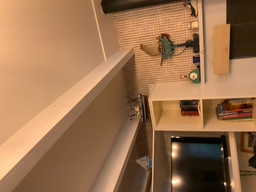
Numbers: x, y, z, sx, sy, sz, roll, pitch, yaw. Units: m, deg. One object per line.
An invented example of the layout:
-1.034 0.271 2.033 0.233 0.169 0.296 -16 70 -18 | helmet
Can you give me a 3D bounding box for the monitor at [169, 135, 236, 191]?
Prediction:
0.700 0.850 2.040 0.060 0.570 0.890 48 -130 -55 | monitor
